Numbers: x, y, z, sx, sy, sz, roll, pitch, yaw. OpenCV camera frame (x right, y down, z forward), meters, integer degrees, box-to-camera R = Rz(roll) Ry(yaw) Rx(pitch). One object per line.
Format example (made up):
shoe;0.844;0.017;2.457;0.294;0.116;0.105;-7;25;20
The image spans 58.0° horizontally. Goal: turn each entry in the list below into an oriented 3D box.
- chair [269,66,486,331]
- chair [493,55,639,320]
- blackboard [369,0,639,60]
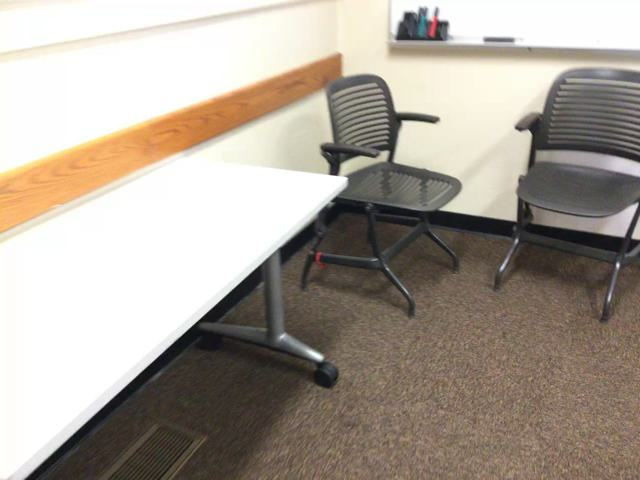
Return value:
chair;0.270;-0.220;2.390;0.600;0.870;0.610;12;30;34
chair;1.040;-0.240;2.250;0.570;0.820;0.630;7;28;26
blackboard;1.290;-0.900;2.080;2.320;0.390;0.170;7;28;26
